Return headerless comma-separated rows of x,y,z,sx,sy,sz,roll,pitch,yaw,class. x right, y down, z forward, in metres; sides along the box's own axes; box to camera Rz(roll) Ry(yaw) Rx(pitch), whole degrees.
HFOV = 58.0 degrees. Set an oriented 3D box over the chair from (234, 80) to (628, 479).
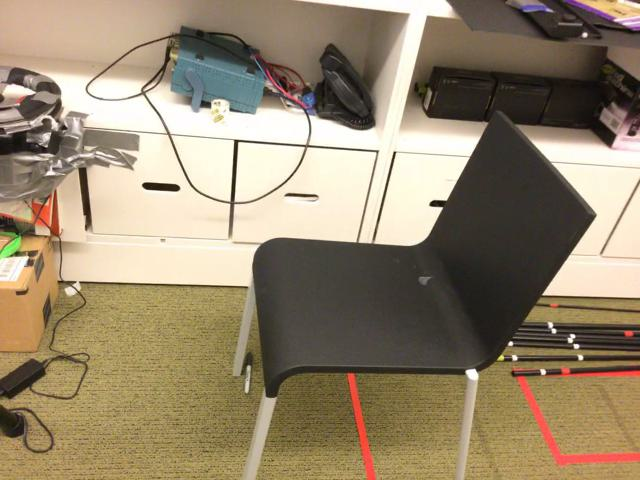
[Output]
0.120,0.130,1.250,0.580,0.770,0.470,2,34,-9,chair
